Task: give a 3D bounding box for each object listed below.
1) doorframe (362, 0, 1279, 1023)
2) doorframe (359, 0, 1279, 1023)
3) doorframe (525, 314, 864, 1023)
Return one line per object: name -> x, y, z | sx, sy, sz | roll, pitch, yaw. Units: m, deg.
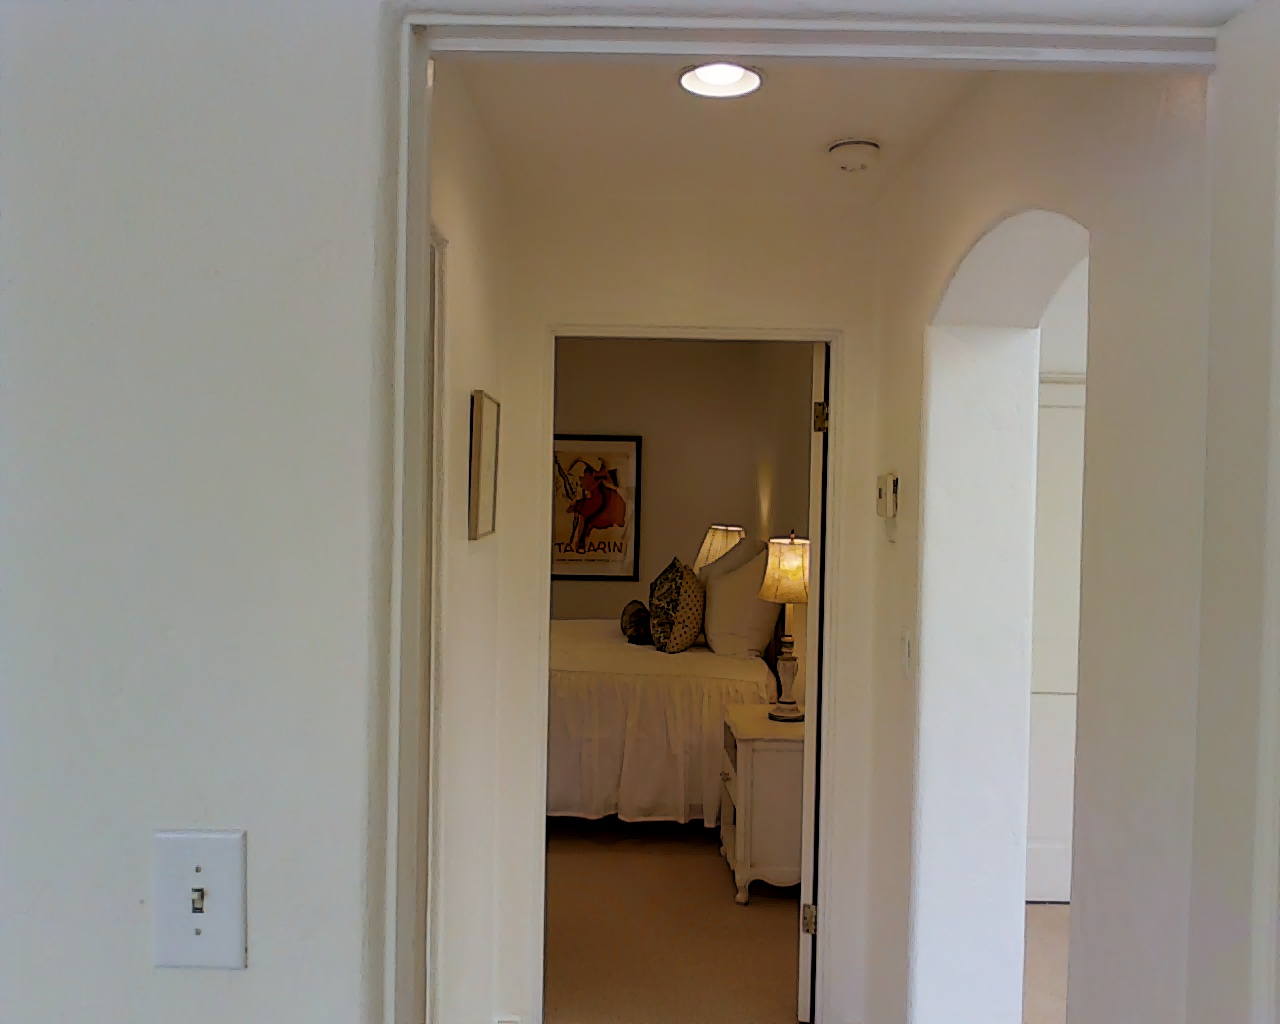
doorframe -> 0.180, 0.540, 1.100 | 0.880, 2.081, 0.200 | 1, 1, 0
doorframe -> 0.160, 0.540, 1.080 | 0.840, 2.071, 0.180 | 1, 1, 0
doorframe -> 0.150, 0.490, 3.110 | 0.910, 2.071, 0.180 | 1, 1, 0
